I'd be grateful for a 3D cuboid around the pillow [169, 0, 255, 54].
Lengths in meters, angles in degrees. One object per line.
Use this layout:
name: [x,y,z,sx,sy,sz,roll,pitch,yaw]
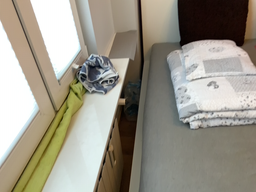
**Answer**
pillow: [0.670,-0.640,1.770,0.560,0.480,0.180,6,36,1]
